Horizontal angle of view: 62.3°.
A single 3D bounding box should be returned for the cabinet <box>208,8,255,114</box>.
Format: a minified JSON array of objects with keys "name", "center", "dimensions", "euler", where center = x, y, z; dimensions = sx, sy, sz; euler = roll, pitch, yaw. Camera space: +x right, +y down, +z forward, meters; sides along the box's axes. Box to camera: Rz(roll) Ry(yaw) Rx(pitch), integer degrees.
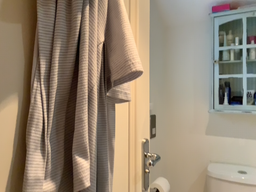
[{"name":"cabinet","center":[0.700,-0.200,1.290],"dimensions":[0.380,0.600,0.140],"euler":[0,0,29]}]
